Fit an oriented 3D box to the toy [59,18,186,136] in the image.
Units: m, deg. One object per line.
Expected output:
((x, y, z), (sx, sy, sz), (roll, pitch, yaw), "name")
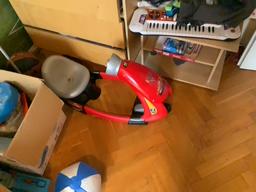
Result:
((-0.010, -0.100, 1.280), (0.550, 0.470, 0.360), (19, 62, 15), "toy")
